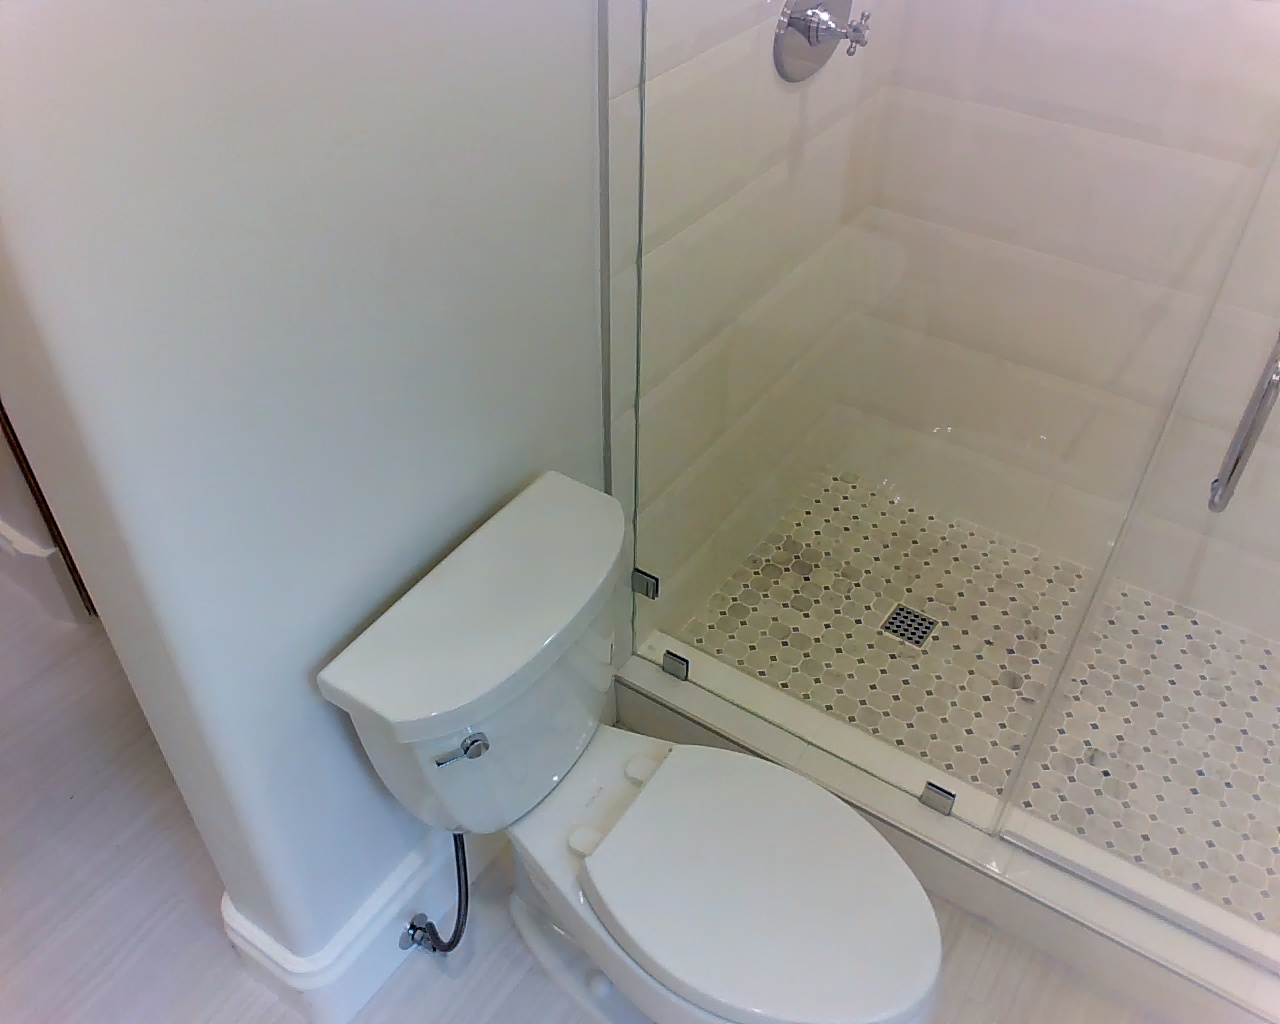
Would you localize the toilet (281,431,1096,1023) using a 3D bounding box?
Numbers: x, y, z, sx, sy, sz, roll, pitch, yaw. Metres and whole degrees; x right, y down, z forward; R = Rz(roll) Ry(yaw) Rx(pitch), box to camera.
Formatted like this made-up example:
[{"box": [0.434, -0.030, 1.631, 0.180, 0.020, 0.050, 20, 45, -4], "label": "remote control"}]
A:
[{"box": [0.040, 0.470, 1.520, 0.820, 0.800, 0.480, 26, 47, 24], "label": "toilet"}]
